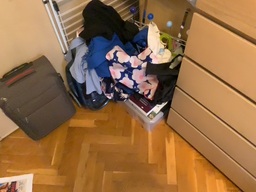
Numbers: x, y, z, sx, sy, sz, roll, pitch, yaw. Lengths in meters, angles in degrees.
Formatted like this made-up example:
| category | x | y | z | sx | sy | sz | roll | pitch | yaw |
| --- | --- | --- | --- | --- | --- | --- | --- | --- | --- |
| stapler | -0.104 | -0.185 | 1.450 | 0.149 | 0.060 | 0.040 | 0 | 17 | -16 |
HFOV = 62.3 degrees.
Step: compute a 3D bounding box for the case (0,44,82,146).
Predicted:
| category | x | y | z | sx | sy | sz | roll | pitch | yaw |
| --- | --- | --- | --- | --- | --- | --- | --- | --- | --- |
| case | -0.570 | 0.020 | 1.350 | 0.370 | 0.550 | 0.240 | -33 | 62 | -19 |
